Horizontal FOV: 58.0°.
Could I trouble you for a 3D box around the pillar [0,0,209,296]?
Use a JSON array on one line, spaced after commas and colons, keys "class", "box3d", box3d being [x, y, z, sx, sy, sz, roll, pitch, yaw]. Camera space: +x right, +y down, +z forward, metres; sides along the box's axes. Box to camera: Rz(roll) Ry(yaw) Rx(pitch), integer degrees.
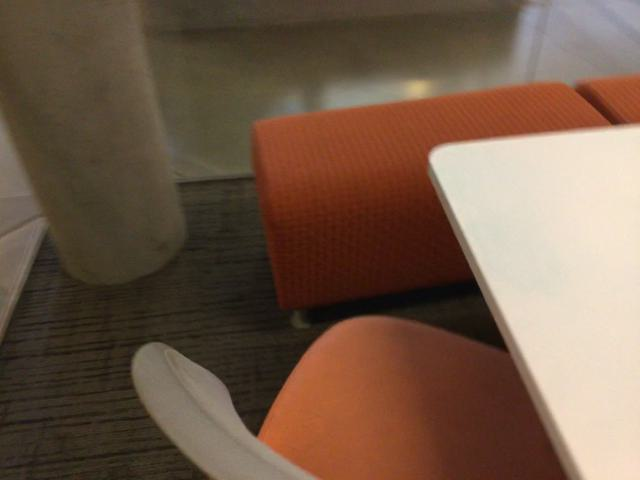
[{"class": "pillar", "box3d": [-0.630, -0.280, 1.650, 0.450, 0.860, 0.330, -6, 41, -2]}]
